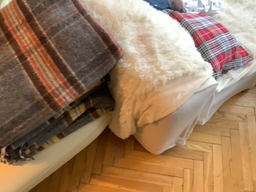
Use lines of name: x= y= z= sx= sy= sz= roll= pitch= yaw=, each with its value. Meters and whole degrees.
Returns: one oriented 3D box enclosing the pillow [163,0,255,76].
pillow: x=0.390 y=-0.290 z=0.990 sx=0.270 sy=0.120 sz=0.350 roll=-39 pitch=50 yaw=-15
